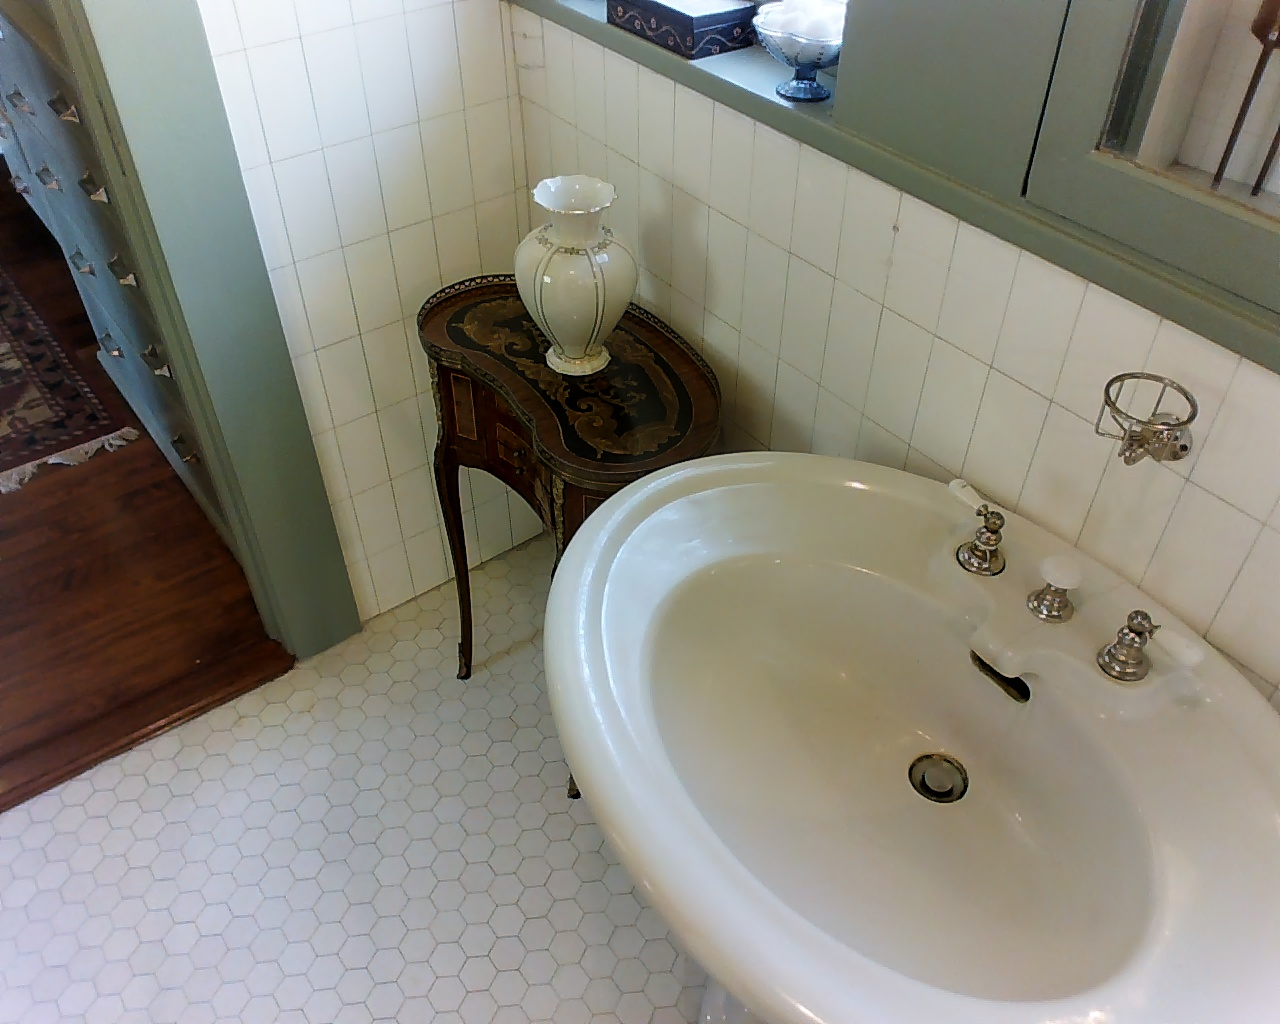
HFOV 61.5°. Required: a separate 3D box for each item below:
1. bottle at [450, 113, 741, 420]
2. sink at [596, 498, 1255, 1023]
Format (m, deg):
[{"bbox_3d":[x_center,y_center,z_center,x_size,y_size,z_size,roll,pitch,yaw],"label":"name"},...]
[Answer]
[{"bbox_3d":[-0.060,-0.340,1.460,0.280,0.260,0.250,-25,49,-25],"label":"bottle"},{"bbox_3d":[0.240,0.250,1.030,0.350,0.180,0.470,-28,50,-27],"label":"sink"}]
